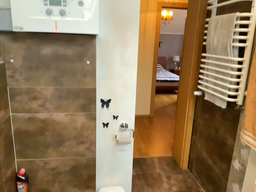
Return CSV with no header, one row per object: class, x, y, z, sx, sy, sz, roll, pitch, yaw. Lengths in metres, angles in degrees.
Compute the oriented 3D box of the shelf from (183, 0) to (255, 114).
shelf,0.780,-0.430,1.830,0.250,0.990,0.690,0,15,-9
